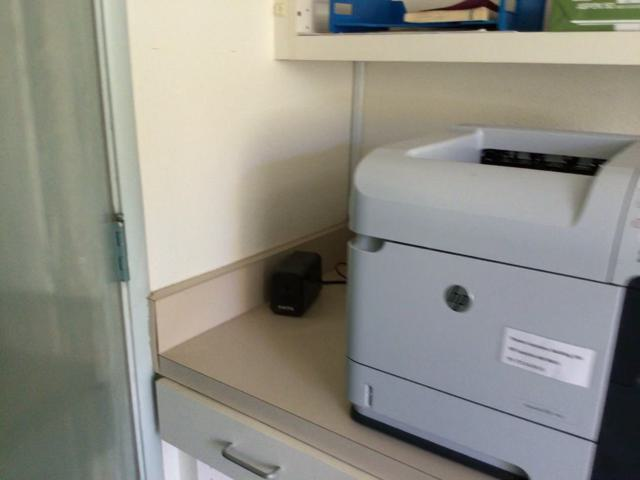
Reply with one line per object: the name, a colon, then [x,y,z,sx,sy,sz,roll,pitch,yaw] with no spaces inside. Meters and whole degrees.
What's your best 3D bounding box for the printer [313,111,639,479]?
printer: [0.340,0.040,0.890,0.440,0.410,0.550,15,21,36]
